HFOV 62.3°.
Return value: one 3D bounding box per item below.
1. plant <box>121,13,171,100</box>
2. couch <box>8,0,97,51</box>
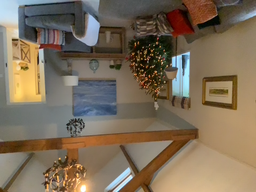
[{"bbox_3d":[0.410,-0.890,5.170,0.920,1.870,0.940,-2,-176,-15],"label":"plant"},{"bbox_3d":[-1.420,-1.390,4.320,1.370,0.730,1.090,-1,-176,3],"label":"couch"}]
